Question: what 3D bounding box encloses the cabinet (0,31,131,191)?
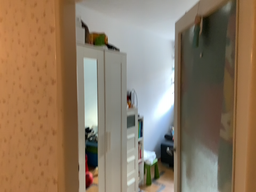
[{"bbox_3d":[-0.520,0.480,2.100,0.500,1.910,1.220,3,5,34],"label":"cabinet"}]
